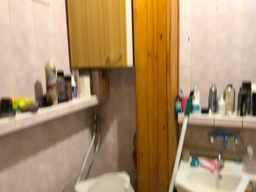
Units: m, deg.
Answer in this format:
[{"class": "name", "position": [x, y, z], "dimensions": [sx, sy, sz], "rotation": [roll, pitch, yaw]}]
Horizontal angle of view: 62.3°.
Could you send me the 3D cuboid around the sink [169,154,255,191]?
[{"class": "sink", "position": [0.540, 0.540, 1.260], "dimensions": [0.510, 0.170, 0.420], "rotation": [2, 9, 21]}]
